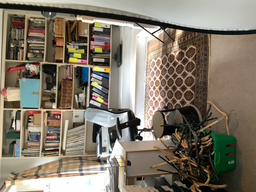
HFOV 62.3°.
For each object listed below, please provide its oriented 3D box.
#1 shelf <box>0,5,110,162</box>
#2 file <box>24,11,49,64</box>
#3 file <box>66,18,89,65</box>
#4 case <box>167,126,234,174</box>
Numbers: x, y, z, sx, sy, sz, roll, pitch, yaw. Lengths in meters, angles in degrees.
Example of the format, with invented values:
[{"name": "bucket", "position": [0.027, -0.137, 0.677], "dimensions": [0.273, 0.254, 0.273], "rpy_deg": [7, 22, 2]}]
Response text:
[{"name": "shelf", "position": [-1.300, -0.170, 3.920], "dimensions": [0.380, 1.810, 2.600], "rpy_deg": [178, 95, -75]}, {"name": "file", "position": [-1.650, -1.040, 3.850], "dimensions": [0.310, 0.350, 0.840], "rpy_deg": [169, 103, -74]}, {"name": "file", "position": [-0.950, -1.010, 3.990], "dimensions": [0.230, 0.390, 0.780], "rpy_deg": [173, 99, -74]}, {"name": "case", "position": [0.590, 0.430, 1.820], "dimensions": [0.550, 0.270, 0.260], "rpy_deg": [-175, 88, -75]}]
